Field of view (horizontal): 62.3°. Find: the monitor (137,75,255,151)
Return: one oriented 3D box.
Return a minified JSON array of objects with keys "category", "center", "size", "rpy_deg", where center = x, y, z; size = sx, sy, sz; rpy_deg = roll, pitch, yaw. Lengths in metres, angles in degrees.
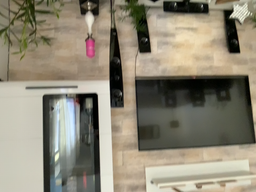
[{"category":"monitor","center":[0.650,0.150,1.940],"size":[1.150,0.650,0.060],"rpy_deg":[1,174,-9]}]
